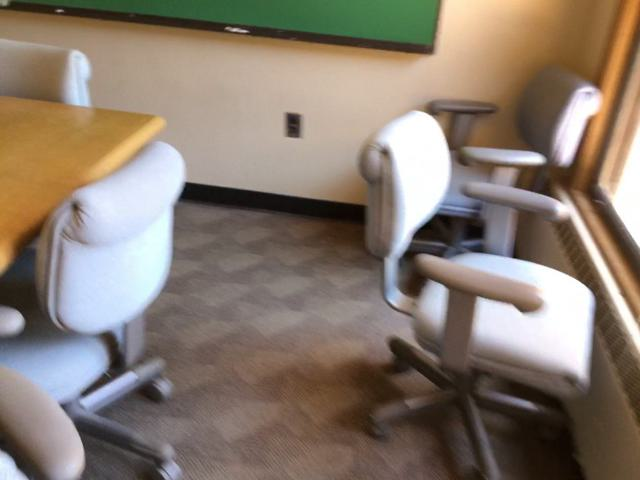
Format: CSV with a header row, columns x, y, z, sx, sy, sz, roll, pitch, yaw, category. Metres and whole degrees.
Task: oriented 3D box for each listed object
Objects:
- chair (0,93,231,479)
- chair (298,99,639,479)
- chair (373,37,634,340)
x,y,z,sx,sy,sz,roll,pitch,yaw,category
-0.550,0.170,1.320,0.470,0.830,0.610,11,24,3,chair
0.390,0.170,1.500,0.700,0.850,0.580,11,24,3,chair
0.590,-0.220,2.150,0.600,0.890,0.590,11,24,3,chair
